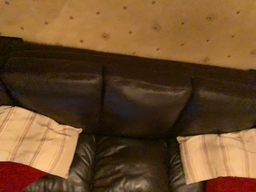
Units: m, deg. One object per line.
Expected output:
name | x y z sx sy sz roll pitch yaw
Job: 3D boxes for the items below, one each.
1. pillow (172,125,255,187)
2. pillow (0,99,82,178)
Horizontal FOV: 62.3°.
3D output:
pillow | 0.670 0.450 1.600 0.600 0.350 0.100 -13 167 12
pillow | -0.620 0.300 1.400 0.180 0.420 0.610 -27 150 36
